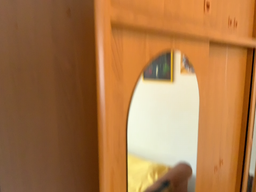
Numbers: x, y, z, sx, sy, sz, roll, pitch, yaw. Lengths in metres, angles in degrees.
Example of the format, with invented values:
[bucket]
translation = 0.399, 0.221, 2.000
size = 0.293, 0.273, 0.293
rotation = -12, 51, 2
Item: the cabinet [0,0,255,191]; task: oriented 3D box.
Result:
[cabinet]
translation = 0.290, 0.390, 1.200
size = 0.610, 2.340, 1.840
rotation = 7, 10, 36
